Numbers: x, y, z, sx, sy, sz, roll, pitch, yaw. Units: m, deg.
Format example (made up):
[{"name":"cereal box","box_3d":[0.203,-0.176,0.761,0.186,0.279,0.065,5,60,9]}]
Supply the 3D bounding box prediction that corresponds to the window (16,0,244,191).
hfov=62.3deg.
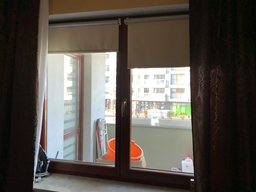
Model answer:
[{"name":"window","box_3d":[-0.070,-0.030,1.630,1.670,1.390,0.170,1,1,12]}]
